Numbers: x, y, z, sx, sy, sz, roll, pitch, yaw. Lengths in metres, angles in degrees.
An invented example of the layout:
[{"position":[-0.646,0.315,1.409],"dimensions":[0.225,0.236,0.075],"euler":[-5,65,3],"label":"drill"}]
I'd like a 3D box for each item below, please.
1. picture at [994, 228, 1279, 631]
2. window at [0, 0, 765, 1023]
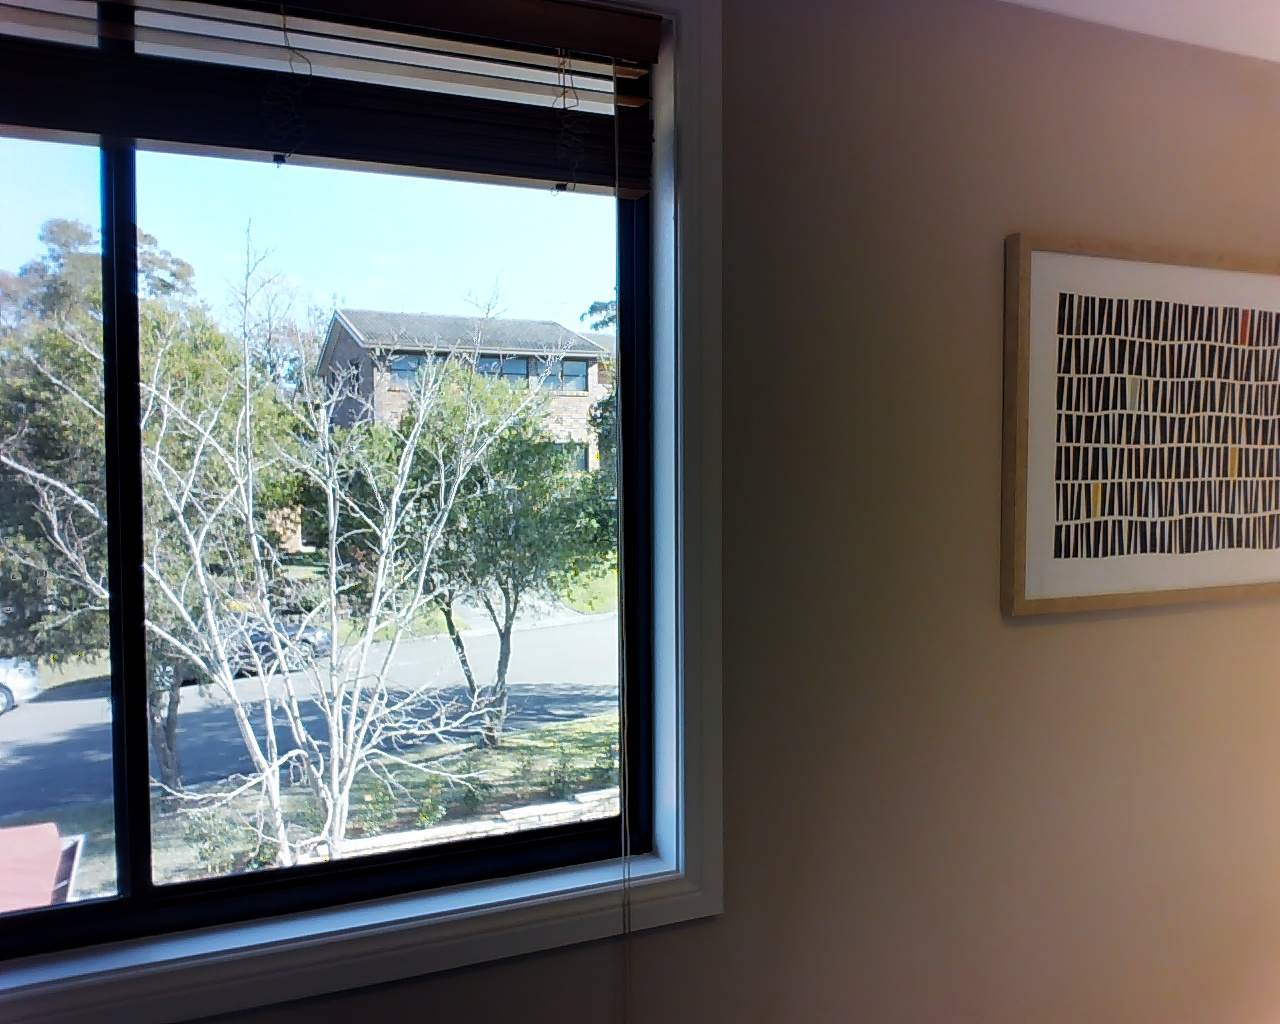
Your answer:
[{"position":[1.050,-0.140,1.990],"dimensions":[0.960,0.660,0.060],"euler":[-1,3,-26],"label":"picture"},{"position":[-0.590,-0.070,1.300],"dimensions":[1.620,1.480,0.180],"euler":[-1,3,-26],"label":"window"}]
